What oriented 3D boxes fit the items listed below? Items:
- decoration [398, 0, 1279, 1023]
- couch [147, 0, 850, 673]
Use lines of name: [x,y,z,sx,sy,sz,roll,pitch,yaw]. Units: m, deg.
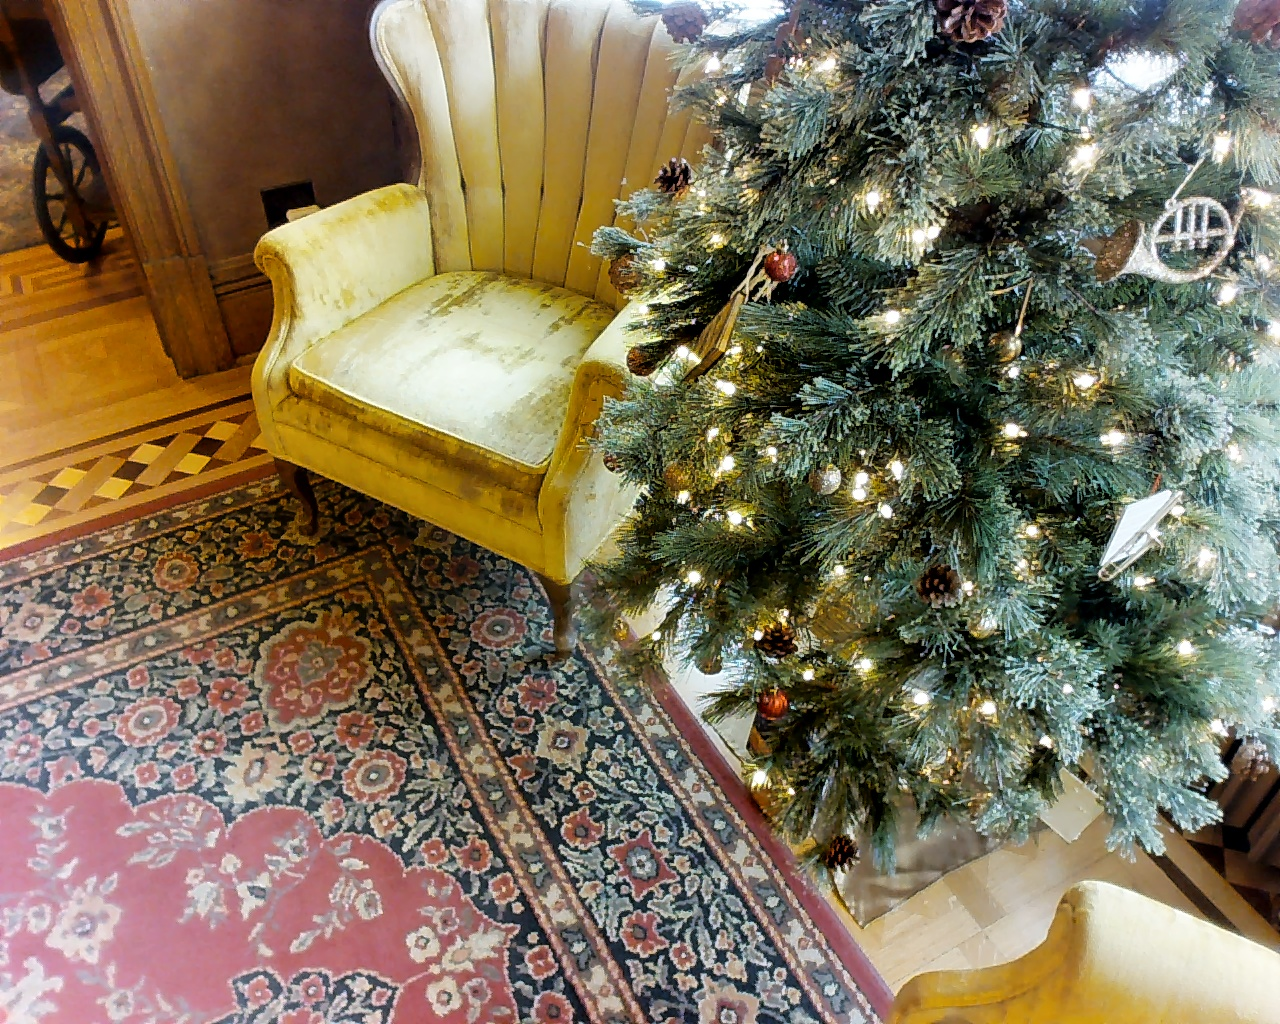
decoration: [0.540,-0.540,1.080,1.210,2.360,1.570,-18,46,-18]
couch: [-0.190,-0.390,1.940,0.790,0.860,0.730,22,47,22]
